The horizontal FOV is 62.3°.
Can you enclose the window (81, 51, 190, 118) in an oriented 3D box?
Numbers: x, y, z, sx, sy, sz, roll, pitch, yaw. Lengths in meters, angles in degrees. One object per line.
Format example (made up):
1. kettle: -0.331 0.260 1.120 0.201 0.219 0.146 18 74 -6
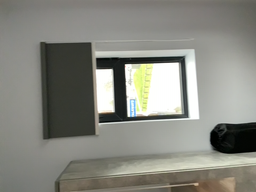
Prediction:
1. window: 0.080 -0.120 2.120 0.160 1.040 0.610 -174 82 -84
